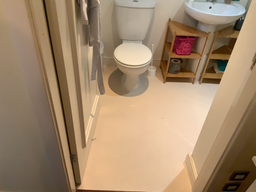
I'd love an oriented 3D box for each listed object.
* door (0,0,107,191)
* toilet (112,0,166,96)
[{"bbox_3d":[-0.230,-0.490,0.970,0.100,2.150,1.020,6,39,2],"label":"door"},{"bbox_3d":[0.070,-0.520,2.120,0.400,0.780,0.670,3,39,-2],"label":"toilet"}]
